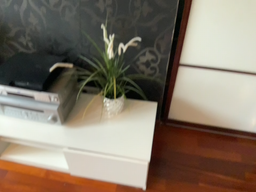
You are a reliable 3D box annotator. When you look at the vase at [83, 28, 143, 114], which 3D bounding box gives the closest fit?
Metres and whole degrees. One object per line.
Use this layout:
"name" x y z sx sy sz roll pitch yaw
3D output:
"vase" -0.070 -0.130 1.200 0.260 0.420 0.190 8 44 7
